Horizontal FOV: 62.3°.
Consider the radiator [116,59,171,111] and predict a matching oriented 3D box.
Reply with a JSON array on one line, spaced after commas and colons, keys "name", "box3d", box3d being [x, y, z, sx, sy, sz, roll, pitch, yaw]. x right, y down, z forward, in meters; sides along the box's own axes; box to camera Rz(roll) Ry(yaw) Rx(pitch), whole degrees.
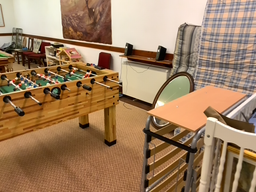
[{"name": "radiator", "box3d": [0.200, -0.230, 3.620, 0.100, 0.630, 1.160, -16, 26, -40]}]

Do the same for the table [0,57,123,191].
[{"name": "table", "box3d": [-0.910, 0.200, 2.200, 1.460, 0.930, 0.900, -16, 26, -39]}]
